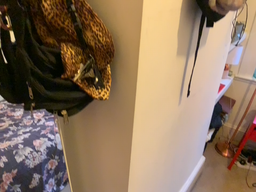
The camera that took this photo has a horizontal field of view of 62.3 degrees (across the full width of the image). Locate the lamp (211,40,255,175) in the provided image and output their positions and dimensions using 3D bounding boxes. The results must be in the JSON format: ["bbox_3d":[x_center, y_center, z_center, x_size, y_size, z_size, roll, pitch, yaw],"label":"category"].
[{"bbox_3d":[1.140,0.130,1.850,0.490,1.110,0.260,20,32,29],"label":"lamp"}]
